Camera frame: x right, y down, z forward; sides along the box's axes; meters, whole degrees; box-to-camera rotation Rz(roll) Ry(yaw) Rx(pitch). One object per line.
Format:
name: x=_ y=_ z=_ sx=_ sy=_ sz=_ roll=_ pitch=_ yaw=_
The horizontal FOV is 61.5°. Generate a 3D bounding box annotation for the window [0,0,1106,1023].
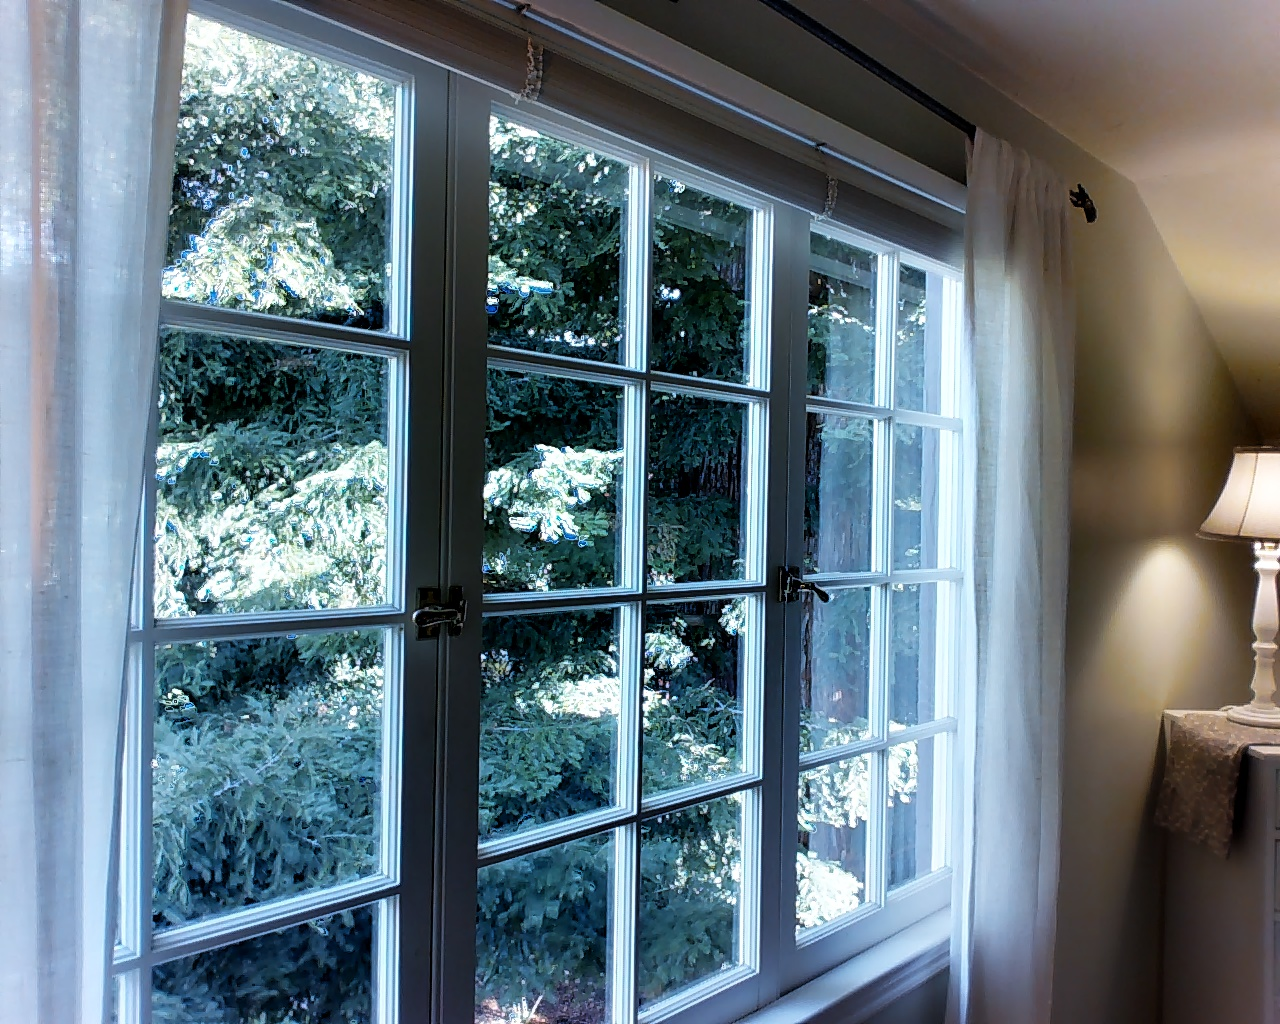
window: x=0.050 y=0.440 z=1.300 sx=0.240 sy=2.260 sz=2.010 roll=1 pitch=0 yaw=44
